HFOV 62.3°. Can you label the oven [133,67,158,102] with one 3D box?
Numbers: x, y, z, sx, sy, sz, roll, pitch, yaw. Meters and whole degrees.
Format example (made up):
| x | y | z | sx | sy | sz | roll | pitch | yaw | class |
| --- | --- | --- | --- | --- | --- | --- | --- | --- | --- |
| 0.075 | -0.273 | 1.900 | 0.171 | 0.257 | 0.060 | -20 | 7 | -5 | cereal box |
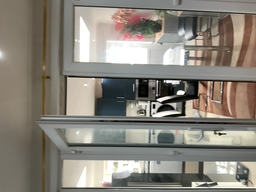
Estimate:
| x | y | z | sx | sy | sz | roll | pitch | yaw | class |
| --- | --- | --- | --- | --- | --- | --- | --- | --- | --- |
| 0.440 | -0.290 | 5.500 | 0.340 | 0.590 | 0.860 | 109 | 162 | -81 | oven |
